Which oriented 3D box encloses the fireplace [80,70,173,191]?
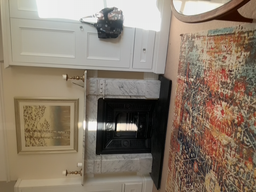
[{"bbox_3d":[-0.110,0.550,3.440,0.740,1.240,1.770,-125,39,-72],"label":"fireplace"}]
